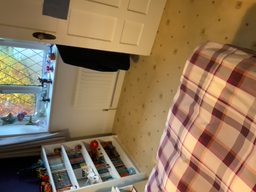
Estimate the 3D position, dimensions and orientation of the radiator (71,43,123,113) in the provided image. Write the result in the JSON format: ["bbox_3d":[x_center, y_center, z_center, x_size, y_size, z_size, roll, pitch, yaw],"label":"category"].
[{"bbox_3d":[-0.410,-0.200,2.780,0.060,0.550,0.910,41,124,50],"label":"radiator"}]
